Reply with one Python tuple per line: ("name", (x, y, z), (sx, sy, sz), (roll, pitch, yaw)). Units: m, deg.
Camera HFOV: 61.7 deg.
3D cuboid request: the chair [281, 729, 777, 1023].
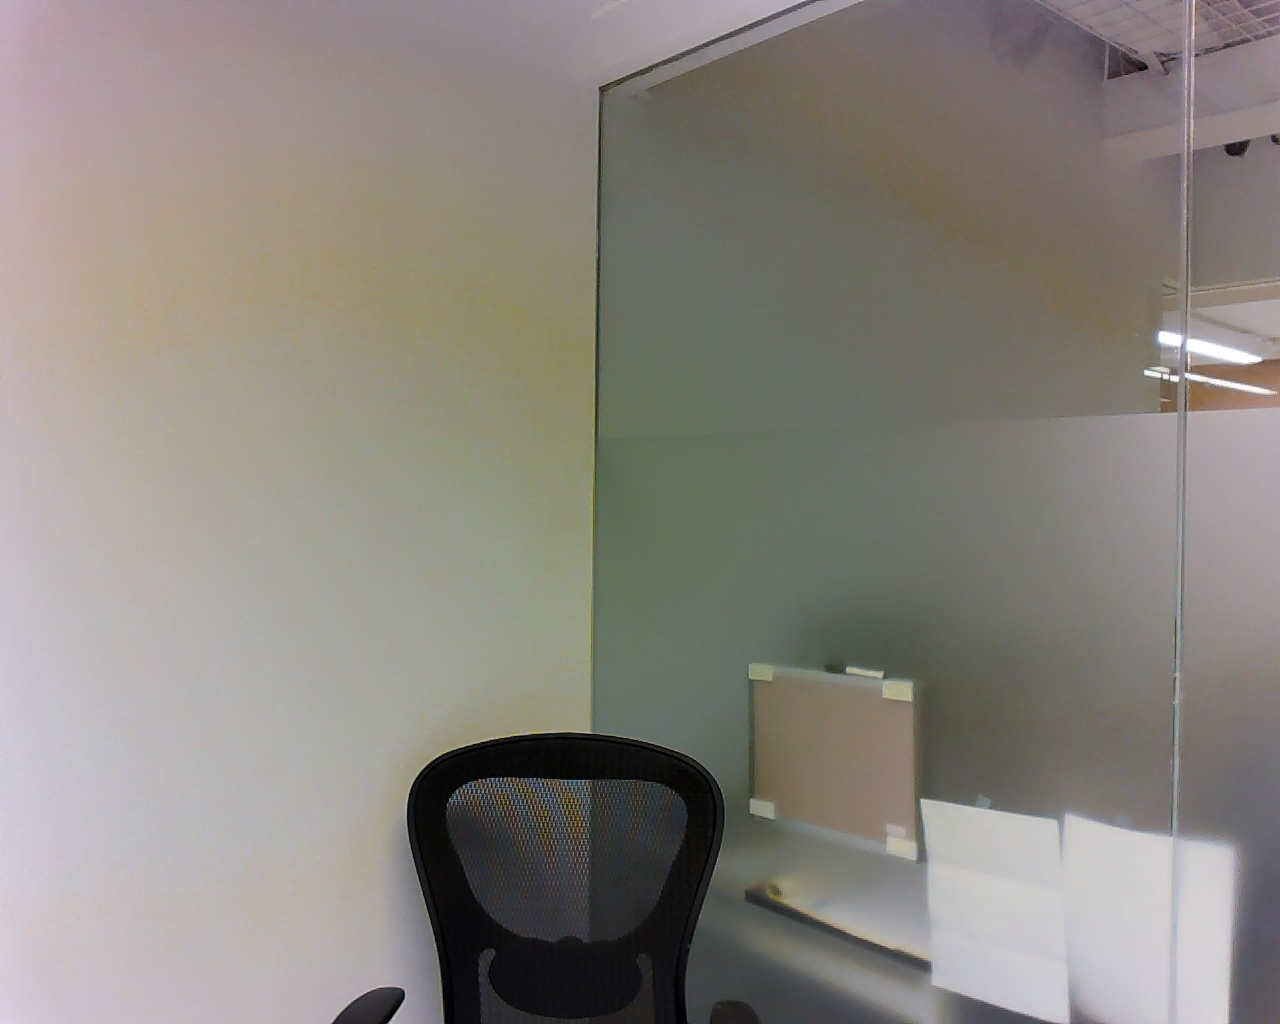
("chair", (-0.130, 0.910, 1.610), (0.630, 1.040, 0.510), (1, 1, 5))
